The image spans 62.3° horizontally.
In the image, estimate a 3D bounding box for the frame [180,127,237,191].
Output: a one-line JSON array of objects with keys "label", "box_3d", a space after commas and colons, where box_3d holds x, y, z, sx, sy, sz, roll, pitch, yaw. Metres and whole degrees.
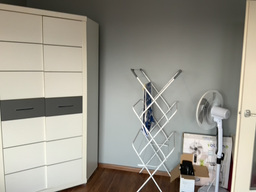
[{"label": "frame", "box_3d": [0.950, 0.750, 2.570, 0.590, 0.670, 0.200, 3, 8, 12]}]
